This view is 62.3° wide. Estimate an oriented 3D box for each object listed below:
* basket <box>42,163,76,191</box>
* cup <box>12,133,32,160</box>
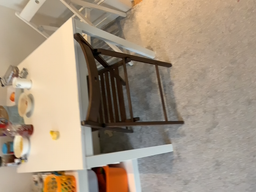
[{"bbox_3d":[-0.410,0.560,1.260,0.240,0.080,0.290,-20,72,40],"label":"basket"},{"bbox_3d":[-0.650,0.310,1.300,0.150,0.060,0.140,-18,73,40],"label":"cup"}]
